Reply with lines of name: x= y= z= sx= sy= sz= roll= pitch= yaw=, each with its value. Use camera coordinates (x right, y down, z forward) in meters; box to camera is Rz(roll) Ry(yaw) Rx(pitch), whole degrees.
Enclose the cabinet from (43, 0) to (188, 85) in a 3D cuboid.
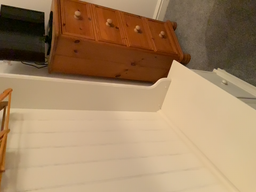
cabinet: x=-0.110 y=-0.430 z=1.830 sx=0.460 sy=1.100 sz=0.410 roll=-49 pitch=46 yaw=49
